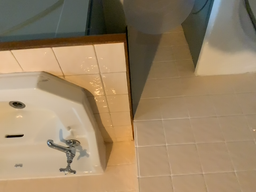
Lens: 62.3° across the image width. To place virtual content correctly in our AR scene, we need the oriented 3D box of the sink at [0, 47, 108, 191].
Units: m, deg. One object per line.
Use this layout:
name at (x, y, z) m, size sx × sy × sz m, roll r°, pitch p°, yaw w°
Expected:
sink at (-0.460, 0.130, 0.760) m, size 0.710 × 0.290 × 0.450 m, roll -5°, pitch 144°, yaw 2°
